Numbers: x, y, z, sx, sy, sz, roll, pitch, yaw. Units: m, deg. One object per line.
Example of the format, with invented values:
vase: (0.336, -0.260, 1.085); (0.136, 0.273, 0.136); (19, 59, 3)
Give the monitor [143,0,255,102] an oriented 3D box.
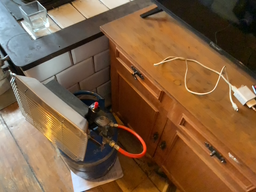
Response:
monitor: (0.320, -0.300, 0.620); (0.060, 0.460, 0.710); (-27, 62, -24)
